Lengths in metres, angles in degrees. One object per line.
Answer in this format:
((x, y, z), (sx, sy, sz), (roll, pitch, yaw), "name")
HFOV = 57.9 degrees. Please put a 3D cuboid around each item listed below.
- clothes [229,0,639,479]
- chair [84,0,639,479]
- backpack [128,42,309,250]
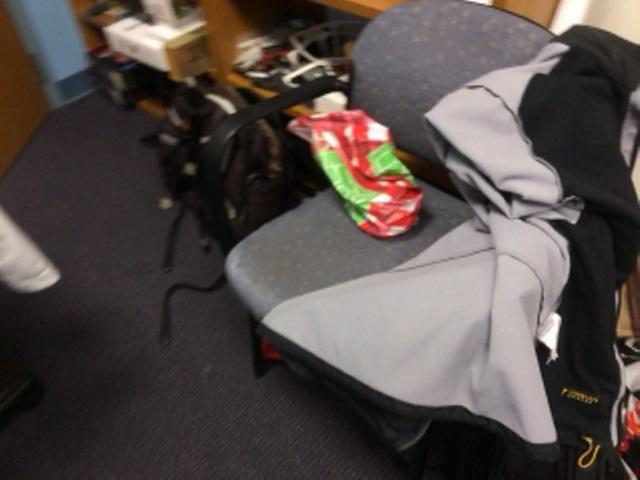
((0.300, 0.100, 0.910), (0.520, 0.710, 0.570), (27, 50, 32), "clothes")
((0.100, 0.000, 1.050), (0.610, 0.810, 0.550), (31, 52, 34), "chair")
((-0.280, -0.270, 1.700), (0.250, 0.440, 0.350), (-40, 54, -18), "backpack")
